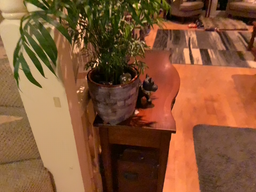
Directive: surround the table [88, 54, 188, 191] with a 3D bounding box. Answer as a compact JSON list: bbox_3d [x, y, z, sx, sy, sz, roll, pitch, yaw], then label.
[{"bbox_3d":[0.100,0.230,1.540,0.450,0.750,0.930,3,33,6],"label":"table"}]
